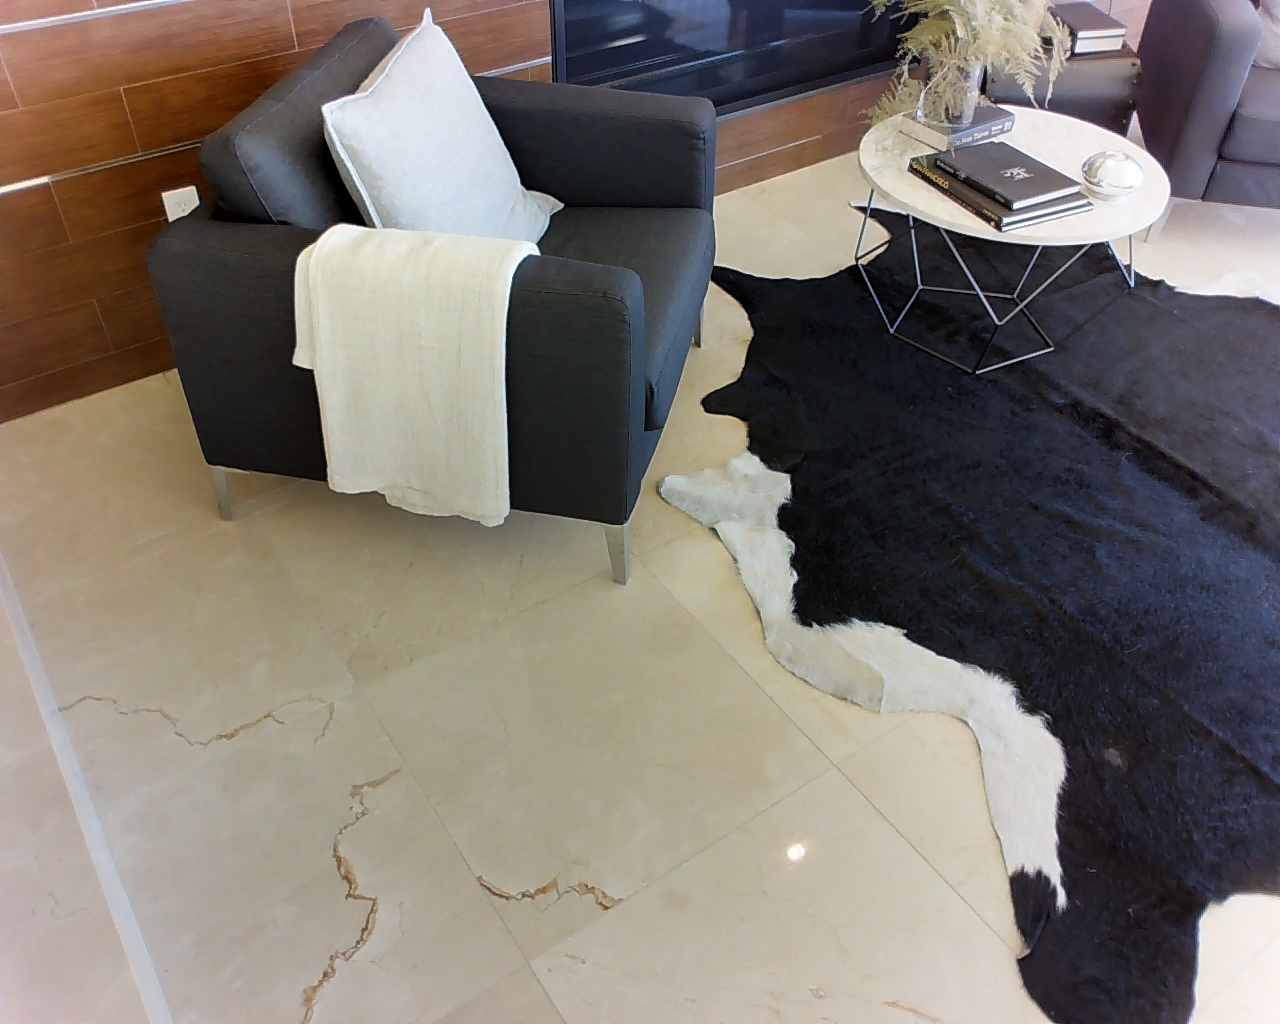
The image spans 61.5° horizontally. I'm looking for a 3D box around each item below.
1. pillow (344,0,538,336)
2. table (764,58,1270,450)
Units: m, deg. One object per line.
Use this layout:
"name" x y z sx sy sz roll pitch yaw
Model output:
"pillow" -0.400 -0.740 2.170 0.170 0.450 0.600 19 65 -11
"table" 0.900 -0.700 2.730 0.800 0.500 0.800 -24 47 -25
